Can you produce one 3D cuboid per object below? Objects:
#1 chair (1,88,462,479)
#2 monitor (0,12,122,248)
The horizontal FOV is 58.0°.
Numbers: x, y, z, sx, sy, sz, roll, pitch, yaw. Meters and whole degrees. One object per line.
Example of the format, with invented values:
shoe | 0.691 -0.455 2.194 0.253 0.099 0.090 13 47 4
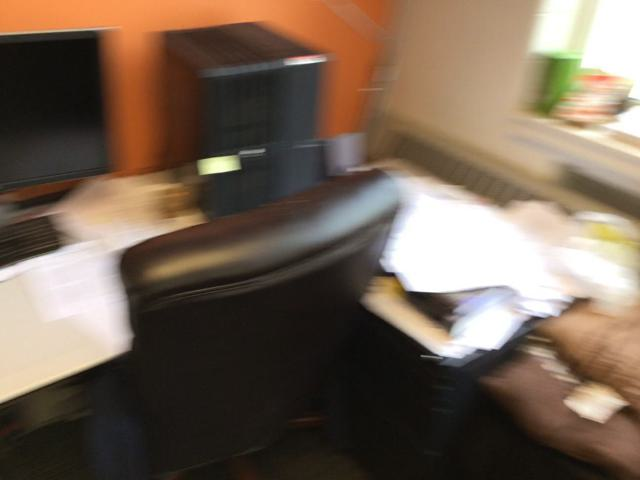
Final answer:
chair | -0.240 0.280 1.370 0.630 1.060 0.690 -15 35 -33
monitor | -0.820 -0.250 1.350 0.600 0.500 0.240 -12 33 -29
